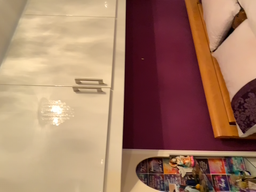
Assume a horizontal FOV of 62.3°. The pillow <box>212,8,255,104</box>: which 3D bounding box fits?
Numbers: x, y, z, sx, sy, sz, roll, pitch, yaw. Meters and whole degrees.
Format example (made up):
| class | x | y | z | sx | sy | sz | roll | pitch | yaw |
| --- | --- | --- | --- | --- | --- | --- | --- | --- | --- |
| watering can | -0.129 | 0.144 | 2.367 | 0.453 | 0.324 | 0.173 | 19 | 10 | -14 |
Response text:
| class | x | y | z | sx | sy | sz | roll | pitch | yaw |
| --- | --- | --- | --- | --- | --- | --- | --- | --- | --- |
| pillow | 0.740 | -0.260 | 1.410 | 0.370 | 0.130 | 0.510 | 94 | 177 | -59 |
